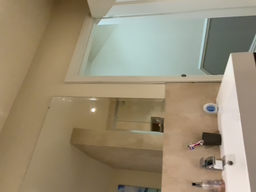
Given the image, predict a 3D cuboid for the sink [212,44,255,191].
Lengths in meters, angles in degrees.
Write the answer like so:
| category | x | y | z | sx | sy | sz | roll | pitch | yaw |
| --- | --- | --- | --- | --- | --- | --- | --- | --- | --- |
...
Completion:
| category | x | y | z | sx | sy | sz | roll | pitch | yaw |
| --- | --- | --- | --- | --- | --- | --- | --- | --- | --- |
| sink | 0.530 | 0.270 | 1.010 | 0.480 | 0.110 | 0.930 | 72 | -157 | -59 |
